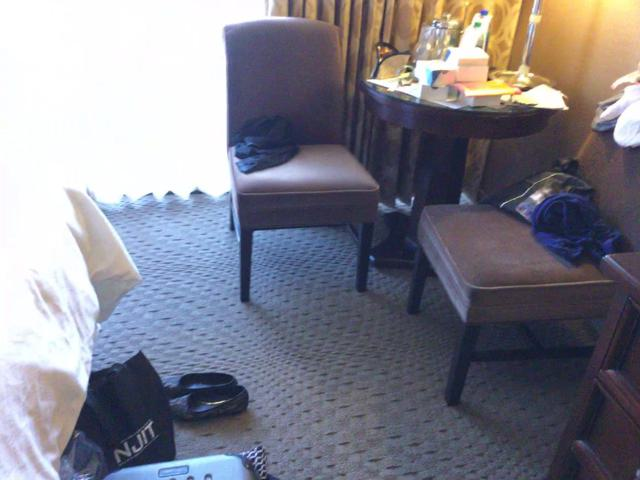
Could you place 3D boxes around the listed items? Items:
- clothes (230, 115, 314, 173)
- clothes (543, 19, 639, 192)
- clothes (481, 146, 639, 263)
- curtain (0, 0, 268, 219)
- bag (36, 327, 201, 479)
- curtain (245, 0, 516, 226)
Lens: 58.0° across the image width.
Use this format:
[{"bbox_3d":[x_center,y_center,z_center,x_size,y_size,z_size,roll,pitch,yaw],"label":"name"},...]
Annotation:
[{"bbox_3d":[-0.190,-0.370,2.180,0.270,0.120,0.330,-3,27,-13],"label":"clothes"},{"bbox_3d":[0.960,-0.410,1.730,0.200,0.400,0.570,-3,27,-13],"label":"clothes"},{"bbox_3d":[0.750,-0.130,1.800,0.280,0.190,0.450,-3,27,-13],"label":"clothes"},{"bbox_3d":[-1.000,-0.980,2.340,1.550,1.810,0.280,-3,27,-13],"label":"curtain"},{"bbox_3d":[-0.500,0.460,1.450,0.260,0.300,0.310,-19,35,-37],"label":"bag"},{"bbox_3d":[0.230,-0.720,2.620,1.100,1.240,0.340,-3,27,-13],"label":"curtain"}]
